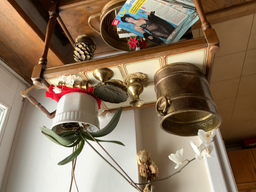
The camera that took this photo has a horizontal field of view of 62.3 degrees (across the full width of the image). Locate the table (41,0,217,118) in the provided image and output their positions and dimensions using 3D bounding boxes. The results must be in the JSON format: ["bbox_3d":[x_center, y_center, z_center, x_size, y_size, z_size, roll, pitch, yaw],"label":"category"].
[{"bbox_3d":[0.010,-0.280,1.040,0.630,0.600,0.350,-9,147,10],"label":"table"}]

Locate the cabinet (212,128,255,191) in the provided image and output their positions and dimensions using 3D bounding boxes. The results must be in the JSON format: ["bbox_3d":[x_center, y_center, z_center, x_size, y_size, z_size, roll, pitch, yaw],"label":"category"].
[{"bbox_3d":[1.670,0.910,2.780,0.870,0.880,0.370,-12,146,14],"label":"cabinet"}]
